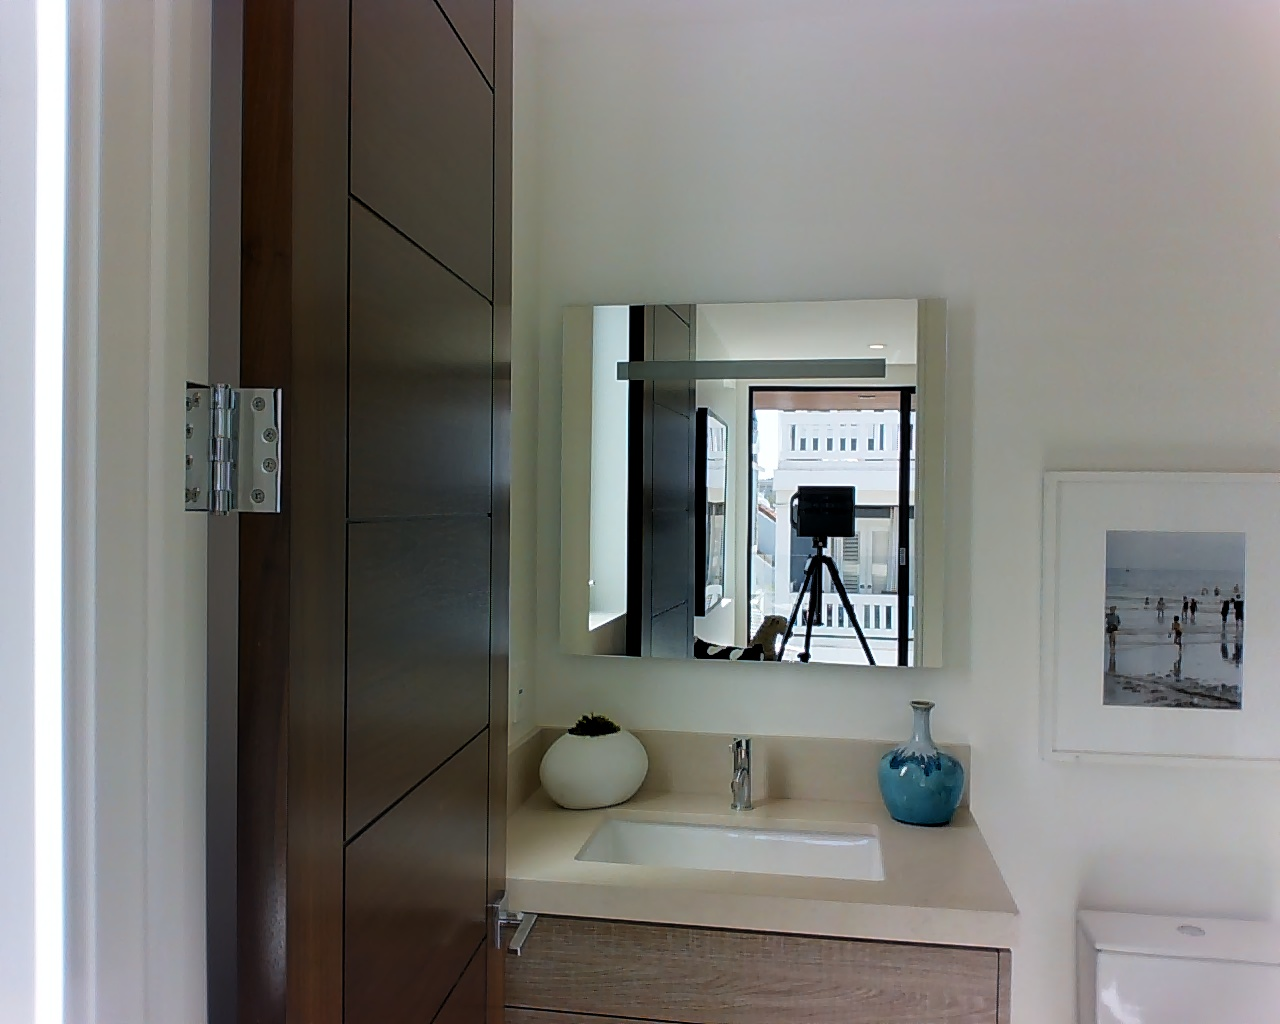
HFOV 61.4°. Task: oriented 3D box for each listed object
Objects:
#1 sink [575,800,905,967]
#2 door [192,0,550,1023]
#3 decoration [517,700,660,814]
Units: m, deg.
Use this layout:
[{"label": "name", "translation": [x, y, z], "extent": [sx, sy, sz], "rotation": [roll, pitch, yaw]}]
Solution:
[{"label": "sink", "translation": [0.190, 0.670, 1.990], "extent": [0.560, 0.160, 0.320], "rotation": [1, 0, 10]}, {"label": "door", "translation": [-0.250, 0.300, 1.260], "extent": [0.060, 2.450, 0.850], "rotation": [1, 0, 10]}, {"label": "decoration", "translation": [-0.100, 0.500, 2.230], "extent": [0.250, 0.170, 0.240], "rotation": [1, 0, 10]}]
